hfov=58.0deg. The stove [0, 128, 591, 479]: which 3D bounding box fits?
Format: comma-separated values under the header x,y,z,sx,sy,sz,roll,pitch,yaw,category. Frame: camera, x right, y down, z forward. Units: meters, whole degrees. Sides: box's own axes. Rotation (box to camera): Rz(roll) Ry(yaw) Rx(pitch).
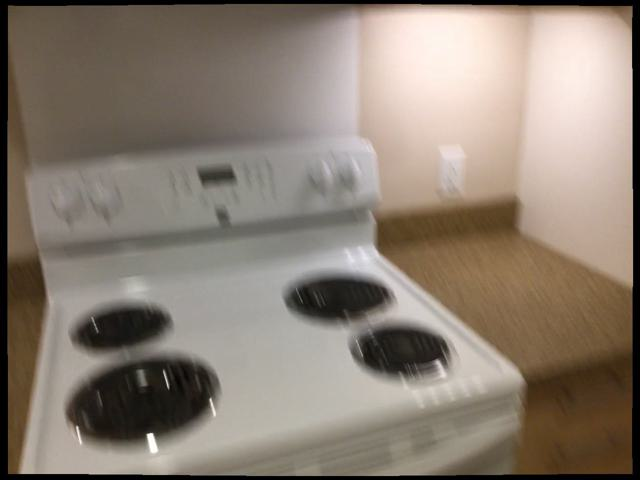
x,y,z,sx,sy,sz,roll,pitch,yaw,category
-0.150,0.451,1.260,0.839,1.152,0.820,-10,25,-20,stove
